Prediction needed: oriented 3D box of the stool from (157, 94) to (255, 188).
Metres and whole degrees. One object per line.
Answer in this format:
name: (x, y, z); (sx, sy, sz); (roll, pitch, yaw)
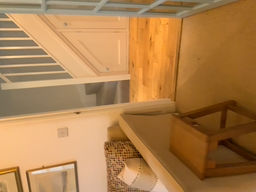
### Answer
stool: (0.540, 0.220, 1.330); (0.500, 0.530, 0.310); (-142, 50, -64)
